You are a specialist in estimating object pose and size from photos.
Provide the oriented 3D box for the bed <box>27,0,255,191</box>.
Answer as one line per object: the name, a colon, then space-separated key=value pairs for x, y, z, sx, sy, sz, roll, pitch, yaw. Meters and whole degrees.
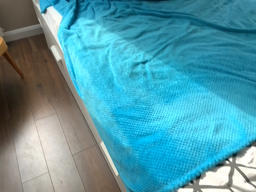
bed: x=0.370 y=-0.400 z=1.680 sx=1.720 sy=0.650 sz=2.290 roll=-22 pitch=51 yaw=-20
